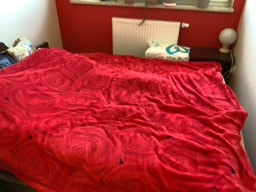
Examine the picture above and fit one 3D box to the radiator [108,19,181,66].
[{"bbox_3d":[0.180,-0.660,2.630,0.860,0.490,0.080,8,33,10],"label":"radiator"}]
